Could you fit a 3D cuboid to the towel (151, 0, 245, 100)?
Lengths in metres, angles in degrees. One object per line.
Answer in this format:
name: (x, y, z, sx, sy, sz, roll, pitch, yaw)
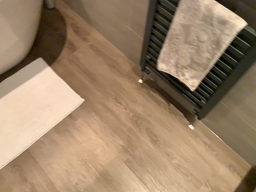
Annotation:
towel: (0.260, -0.200, 0.950, 0.060, 0.470, 0.280, -39, 71, -21)
